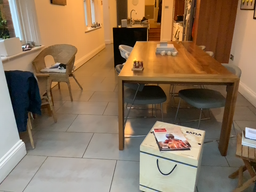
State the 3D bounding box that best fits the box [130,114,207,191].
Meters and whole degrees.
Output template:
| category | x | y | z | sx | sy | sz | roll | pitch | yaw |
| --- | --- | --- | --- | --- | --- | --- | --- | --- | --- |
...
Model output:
| category | x | y | z | sx | sy | sz | roll | pitch | yaw |
| --- | --- | --- | --- | --- | --- | --- | --- | --- | --- |
| box | 0.310 | 0.480 | 1.600 | 0.460 | 0.470 | 0.440 | 8 | 23 | 21 |
